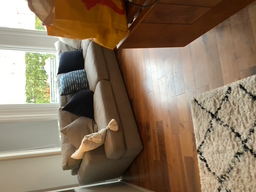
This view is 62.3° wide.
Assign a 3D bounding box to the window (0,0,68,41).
[{"bbox_3d":[-2.010,-1.580,3.940,0.260,1.640,0.920,-116,34,-45],"label":"window"}]
